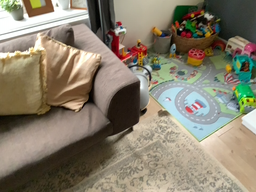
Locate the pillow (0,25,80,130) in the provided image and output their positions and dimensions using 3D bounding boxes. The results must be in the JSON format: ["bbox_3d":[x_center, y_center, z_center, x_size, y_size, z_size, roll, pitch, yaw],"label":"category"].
[{"bbox_3d":[-0.650,-0.090,1.320,0.540,0.390,0.170,-41,51,3],"label":"pillow"}]

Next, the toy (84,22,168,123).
[{"bbox_3d":[-0.060,-0.250,1.970,0.380,0.490,0.800,-20,48,-21],"label":"toy"}]

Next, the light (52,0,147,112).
[{"bbox_3d":[-0.240,-0.750,1.540,0.540,1.750,0.580,-18,47,-19],"label":"light"}]
